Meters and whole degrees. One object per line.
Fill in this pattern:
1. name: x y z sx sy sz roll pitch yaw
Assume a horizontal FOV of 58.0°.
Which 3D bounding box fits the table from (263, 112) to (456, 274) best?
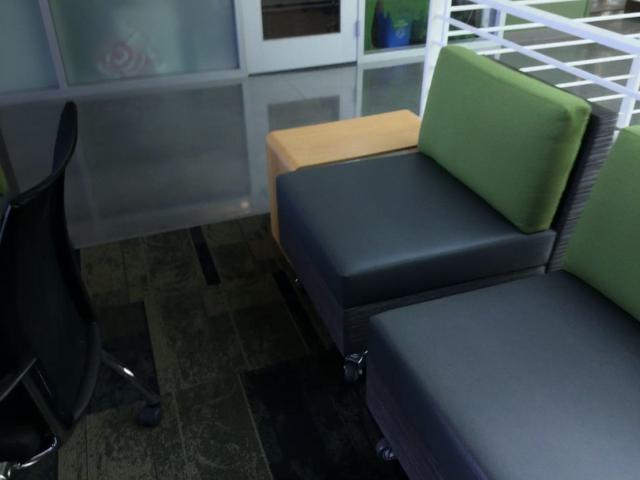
1. table: 0.140 -0.210 2.340 0.660 0.490 0.350 -9 28 -20
